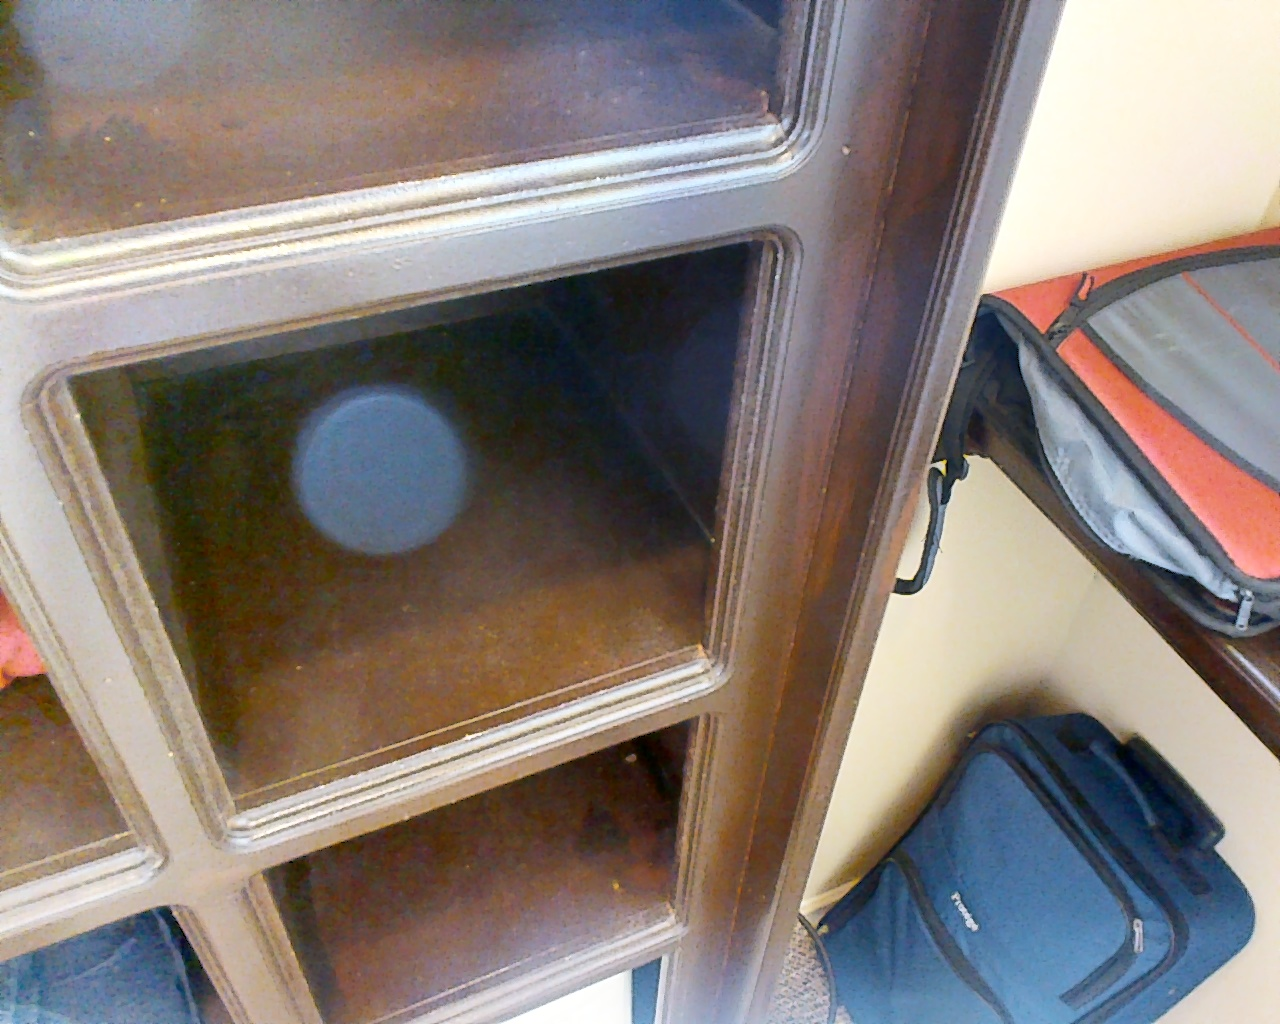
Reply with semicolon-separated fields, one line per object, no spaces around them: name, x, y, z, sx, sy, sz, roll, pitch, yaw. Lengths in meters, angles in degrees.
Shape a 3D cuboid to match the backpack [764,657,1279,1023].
backpack;0.430;0.520;1.340;0.370;0.510;0.340;-15;46;-18
